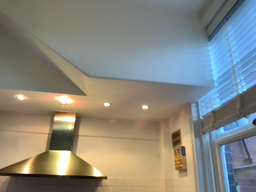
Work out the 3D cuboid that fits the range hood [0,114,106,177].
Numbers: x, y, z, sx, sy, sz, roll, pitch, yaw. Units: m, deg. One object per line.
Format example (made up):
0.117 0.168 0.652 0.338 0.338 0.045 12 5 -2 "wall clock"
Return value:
-0.680 0.500 2.020 0.890 0.490 0.450 4 -23 -8 "range hood"
